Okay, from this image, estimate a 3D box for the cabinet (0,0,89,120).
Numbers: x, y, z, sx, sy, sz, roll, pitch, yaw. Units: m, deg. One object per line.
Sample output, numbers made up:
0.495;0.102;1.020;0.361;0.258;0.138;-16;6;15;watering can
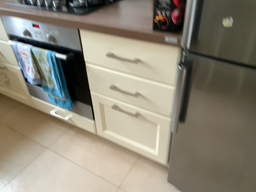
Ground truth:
-0.800;-0.400;1.760;0.540;0.860;0.640;18;41;25;cabinet
